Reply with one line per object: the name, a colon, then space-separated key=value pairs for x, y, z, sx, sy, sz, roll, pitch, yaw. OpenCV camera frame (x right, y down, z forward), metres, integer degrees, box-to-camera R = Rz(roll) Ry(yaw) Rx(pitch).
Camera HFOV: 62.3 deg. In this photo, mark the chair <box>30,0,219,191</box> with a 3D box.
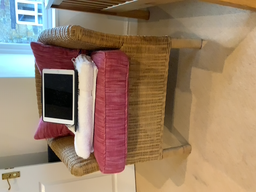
chair: x=-0.120 y=-0.020 z=1.230 sx=0.860 sy=0.750 sz=0.710 roll=-158 pitch=68 yaw=-66
